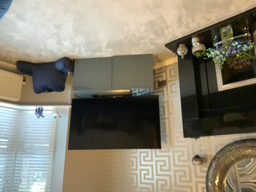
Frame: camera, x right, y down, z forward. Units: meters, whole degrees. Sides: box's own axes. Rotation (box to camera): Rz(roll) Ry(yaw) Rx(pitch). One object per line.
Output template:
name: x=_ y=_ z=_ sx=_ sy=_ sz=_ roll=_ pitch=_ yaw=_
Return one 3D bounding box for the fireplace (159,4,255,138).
fireplace: x=1.100 y=-0.170 z=2.270 sx=1.360 sy=1.110 sz=0.630 roll=-14 pitch=159 yaw=41
